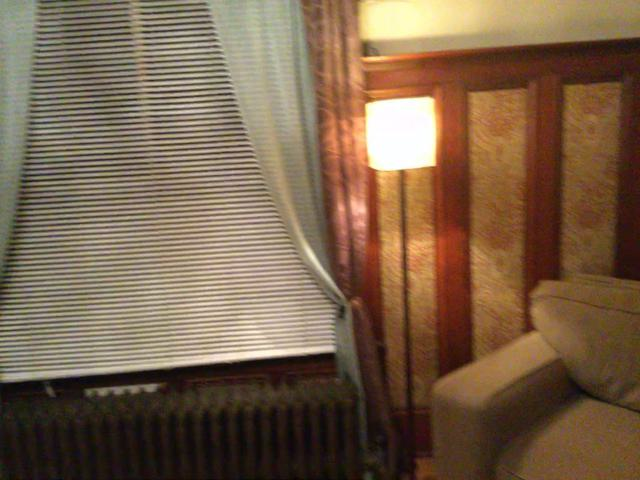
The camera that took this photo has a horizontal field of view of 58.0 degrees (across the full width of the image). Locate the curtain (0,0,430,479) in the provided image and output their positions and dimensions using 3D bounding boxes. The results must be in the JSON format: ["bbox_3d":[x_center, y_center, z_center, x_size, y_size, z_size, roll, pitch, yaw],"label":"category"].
[{"bbox_3d":[-0.600,-0.010,2.190,1.890,2.120,0.320,-4,6,0],"label":"curtain"}]

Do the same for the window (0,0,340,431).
[{"bbox_3d":[-0.650,-0.130,2.260,1.350,1.660,0.180,-4,6,0],"label":"window"}]
